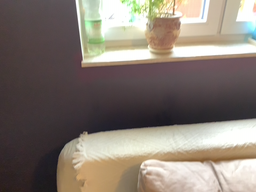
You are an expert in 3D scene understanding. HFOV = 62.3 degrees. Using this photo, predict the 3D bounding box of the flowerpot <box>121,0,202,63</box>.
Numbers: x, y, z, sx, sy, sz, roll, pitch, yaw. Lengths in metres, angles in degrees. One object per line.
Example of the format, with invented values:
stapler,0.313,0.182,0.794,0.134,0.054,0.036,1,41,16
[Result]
flowerpot,0.140,-0.470,0.990,0.330,0.560,0.230,-4,30,-6
